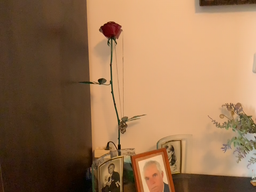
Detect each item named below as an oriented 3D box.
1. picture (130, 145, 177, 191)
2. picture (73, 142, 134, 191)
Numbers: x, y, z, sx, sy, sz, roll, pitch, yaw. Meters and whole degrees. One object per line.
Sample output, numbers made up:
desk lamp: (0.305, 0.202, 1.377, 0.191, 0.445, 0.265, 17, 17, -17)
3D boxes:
picture: (0.100, 0.310, 0.780, 0.150, 0.190, 0.170, 2, 11, 13)
picture: (-0.080, 0.310, 0.810, 0.170, 0.190, 0.200, 2, 11, 14)
